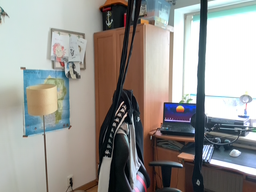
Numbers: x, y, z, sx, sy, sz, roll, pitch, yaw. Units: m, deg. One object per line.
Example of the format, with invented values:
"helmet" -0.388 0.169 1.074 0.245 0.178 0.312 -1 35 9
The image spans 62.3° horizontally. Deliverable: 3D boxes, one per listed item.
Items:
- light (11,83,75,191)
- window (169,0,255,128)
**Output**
"light" -0.810 0.620 2.060 0.440 1.460 0.360 5 8 40
"window" 1.270 -0.410 2.380 1.640 1.470 0.220 5 8 38
